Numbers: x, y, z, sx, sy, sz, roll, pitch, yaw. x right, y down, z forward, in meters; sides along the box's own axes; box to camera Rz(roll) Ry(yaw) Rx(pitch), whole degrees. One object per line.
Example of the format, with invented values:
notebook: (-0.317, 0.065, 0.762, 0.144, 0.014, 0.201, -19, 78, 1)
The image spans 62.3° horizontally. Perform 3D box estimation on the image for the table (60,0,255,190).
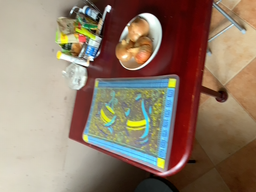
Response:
table: (0.220, -0.060, 1.080, 0.690, 0.750, 0.700, 4, 84, 47)

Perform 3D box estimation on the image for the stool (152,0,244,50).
stool: (0.410, -0.480, 1.200, 0.290, 0.450, 0.280, 3, 83, 47)

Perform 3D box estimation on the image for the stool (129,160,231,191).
stool: (0.270, 0.550, 1.110, 0.320, 0.450, 0.320, 4, 84, 47)
